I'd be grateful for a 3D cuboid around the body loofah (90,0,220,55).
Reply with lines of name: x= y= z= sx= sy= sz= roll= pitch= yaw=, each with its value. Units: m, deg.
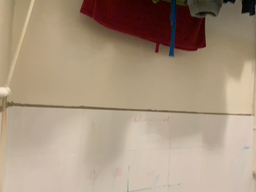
body loofah: x=0.170 y=-0.460 z=1.070 sx=0.670 sy=0.370 sz=0.150 roll=5 pitch=-1 yaw=-29
